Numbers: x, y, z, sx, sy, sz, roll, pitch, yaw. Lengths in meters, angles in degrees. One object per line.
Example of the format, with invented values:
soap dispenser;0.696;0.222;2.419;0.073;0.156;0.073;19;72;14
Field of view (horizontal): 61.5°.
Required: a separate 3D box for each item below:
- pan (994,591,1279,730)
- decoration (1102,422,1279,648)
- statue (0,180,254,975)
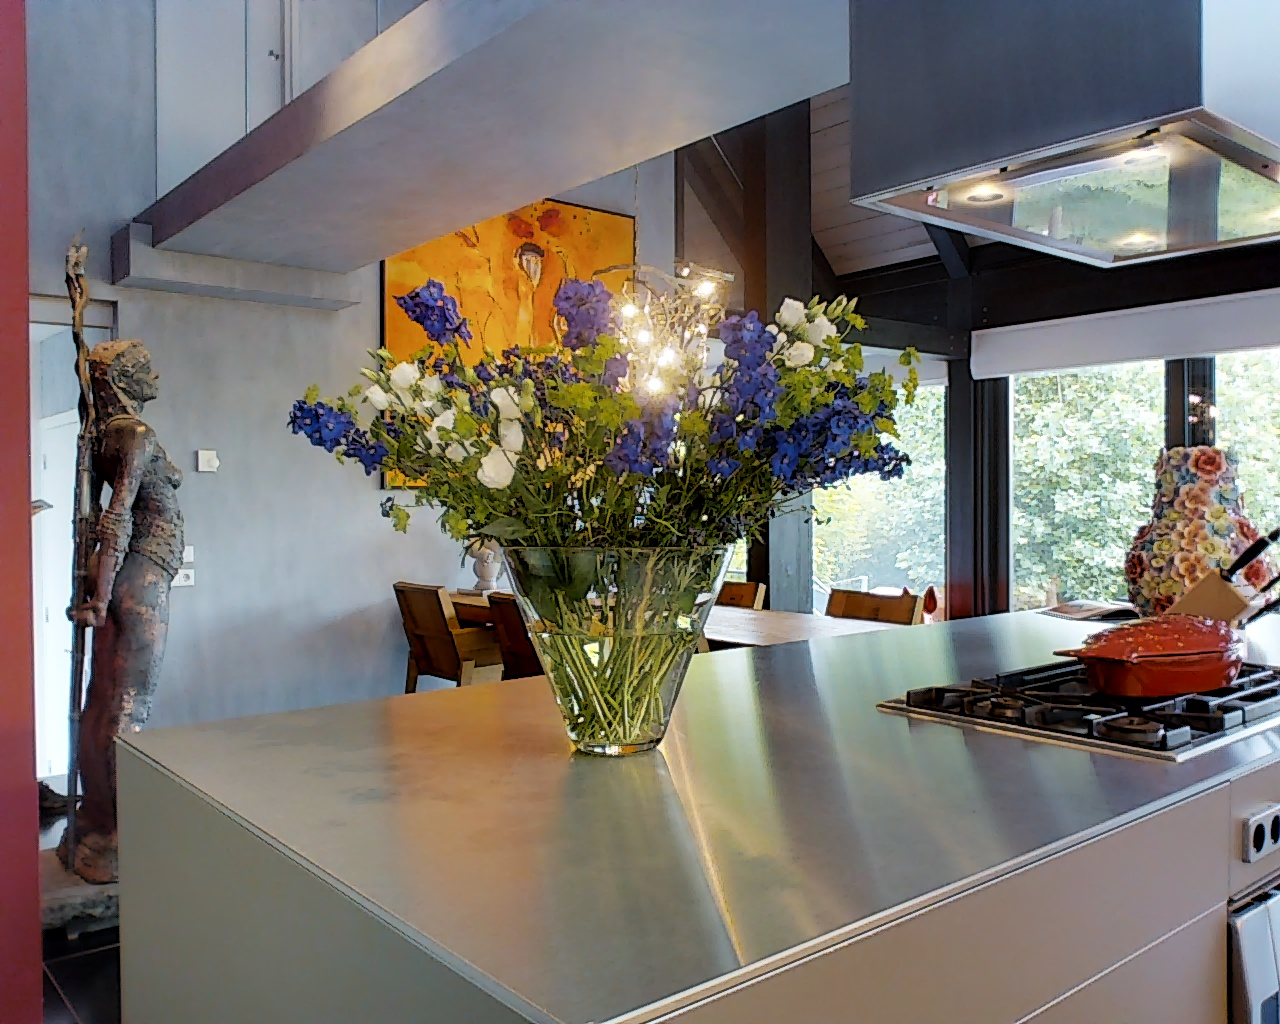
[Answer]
pan;0.920;0.250;1.940;0.530;0.160;0.300;-1;1;-39
decoration;1.460;0.050;2.840;0.410;0.540;0.420;0;1;28
statue;-1.730;0.180;3.480;0.700;2.230;0.640;-1;1;-40
